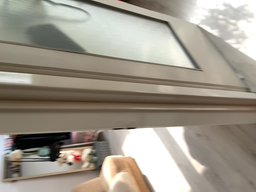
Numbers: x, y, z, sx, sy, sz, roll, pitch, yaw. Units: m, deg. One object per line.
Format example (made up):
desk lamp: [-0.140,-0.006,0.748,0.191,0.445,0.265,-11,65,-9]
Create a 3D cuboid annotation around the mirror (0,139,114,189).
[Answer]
mirror: [-0.960,0.960,3.160,0.170,1.620,0.350,44,125,41]
